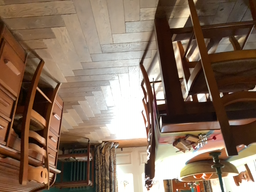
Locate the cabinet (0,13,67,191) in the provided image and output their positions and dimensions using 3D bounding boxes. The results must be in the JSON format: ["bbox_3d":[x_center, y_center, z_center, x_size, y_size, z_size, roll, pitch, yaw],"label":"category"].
[{"bbox_3d":[-1.090,0.300,1.620,0.770,1.150,1.210,-5,153,2],"label":"cabinet"}]
